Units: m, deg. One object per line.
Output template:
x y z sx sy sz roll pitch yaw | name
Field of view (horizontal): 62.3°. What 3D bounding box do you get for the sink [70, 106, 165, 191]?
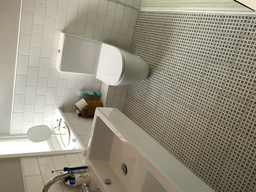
-0.110 0.390 1.200 0.560 0.200 0.500 32 114 53 | sink
